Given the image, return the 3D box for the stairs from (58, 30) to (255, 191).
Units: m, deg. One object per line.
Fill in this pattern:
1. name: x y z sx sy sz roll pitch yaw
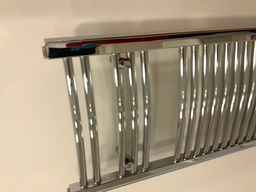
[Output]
1. stairs: 0.250 0.020 0.700 0.040 0.860 0.440 -145 49 -65
